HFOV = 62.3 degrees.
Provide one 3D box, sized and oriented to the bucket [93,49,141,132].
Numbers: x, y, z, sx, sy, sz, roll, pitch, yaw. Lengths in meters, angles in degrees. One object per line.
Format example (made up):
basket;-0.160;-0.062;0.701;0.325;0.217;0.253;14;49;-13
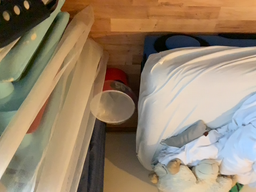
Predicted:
bucket;-0.070;-0.020;1.190;0.220;0.230;0.410;2;132;-4
